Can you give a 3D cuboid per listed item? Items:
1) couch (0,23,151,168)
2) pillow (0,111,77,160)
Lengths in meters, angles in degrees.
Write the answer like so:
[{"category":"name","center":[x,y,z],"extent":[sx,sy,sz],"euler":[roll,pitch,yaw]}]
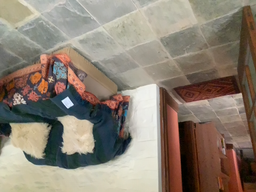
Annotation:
[{"category":"couch","center":[-0.700,0.200,2.090],"extent":[1.580,0.850,0.980],"euler":[-12,151,30]},{"category":"pillow","center":[-0.960,0.400,2.320],"extent":[0.600,0.450,0.220],"euler":[4,118,23]}]
